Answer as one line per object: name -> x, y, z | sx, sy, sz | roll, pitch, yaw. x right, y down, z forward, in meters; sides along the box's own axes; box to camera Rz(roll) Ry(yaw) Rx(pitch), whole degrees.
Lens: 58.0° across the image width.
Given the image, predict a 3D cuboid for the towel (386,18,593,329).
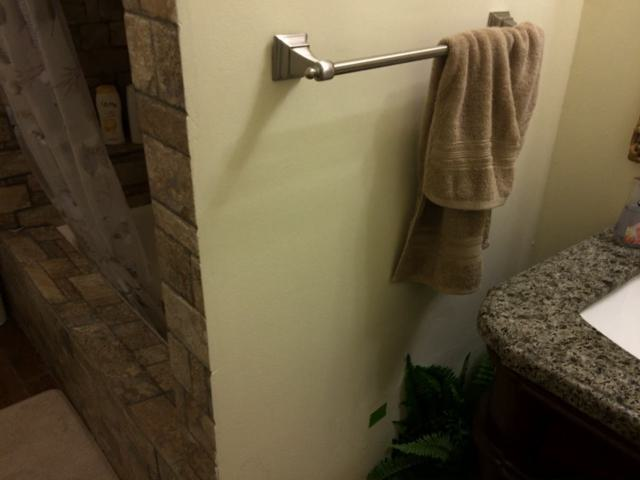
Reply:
towel -> 0.280, -0.120, 1.000 | 0.290, 0.460, 0.140 | -21, 35, -34
